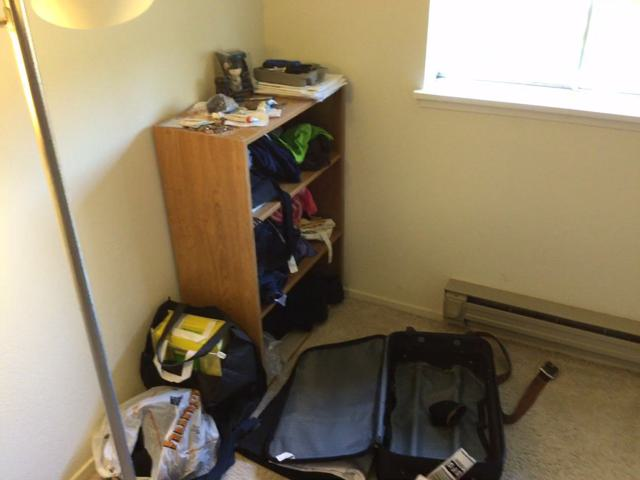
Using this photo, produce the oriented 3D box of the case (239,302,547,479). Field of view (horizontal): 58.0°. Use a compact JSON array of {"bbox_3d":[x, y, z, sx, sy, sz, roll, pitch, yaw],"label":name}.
[{"bbox_3d":[0.230,0.480,1.820,0.780,0.180,0.700,1,28,10],"label":"case"}]
